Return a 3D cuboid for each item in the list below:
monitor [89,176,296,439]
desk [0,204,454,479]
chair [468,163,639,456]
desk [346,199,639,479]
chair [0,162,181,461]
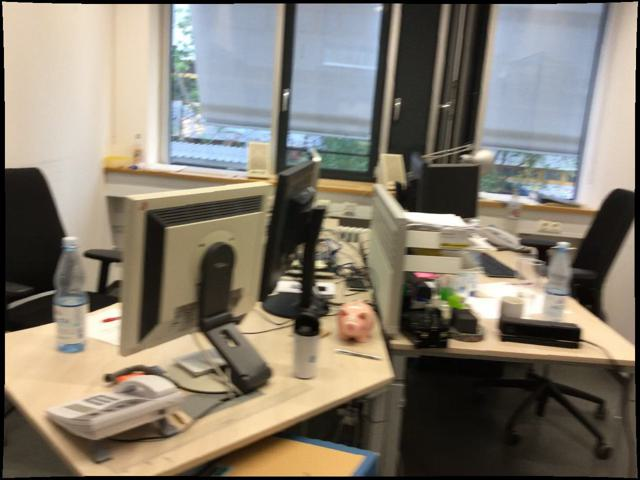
[{"bbox_3d":[-0.270,0.120,1.400,0.360,0.460,0.500,4,14,1],"label":"monitor"},{"bbox_3d":[-0.350,0.501,2.160,1.189,0.801,2.260,4,14,1],"label":"desk"},{"bbox_3d":[1.139,0.270,2.730,0.569,1.141,0.750,4,14,1],"label":"chair"},{"bbox_3d":[0.739,0.410,2.770,1.139,0.791,2.080,4,14,1],"label":"desk"},{"bbox_3d":[-1.129,0.230,2.550,0.699,1.021,0.710,10,15,23],"label":"chair"}]
